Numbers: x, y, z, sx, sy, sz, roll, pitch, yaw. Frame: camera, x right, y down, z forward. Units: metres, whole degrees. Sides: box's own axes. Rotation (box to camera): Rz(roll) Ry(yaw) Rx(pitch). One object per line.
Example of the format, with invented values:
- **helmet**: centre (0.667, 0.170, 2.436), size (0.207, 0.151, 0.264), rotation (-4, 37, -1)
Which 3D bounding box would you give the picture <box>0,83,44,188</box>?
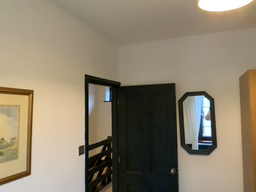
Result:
- **picture**: centre (-0.770, 0.220, 1.140), size (0.050, 0.590, 0.800), rotation (-2, -2, 22)
